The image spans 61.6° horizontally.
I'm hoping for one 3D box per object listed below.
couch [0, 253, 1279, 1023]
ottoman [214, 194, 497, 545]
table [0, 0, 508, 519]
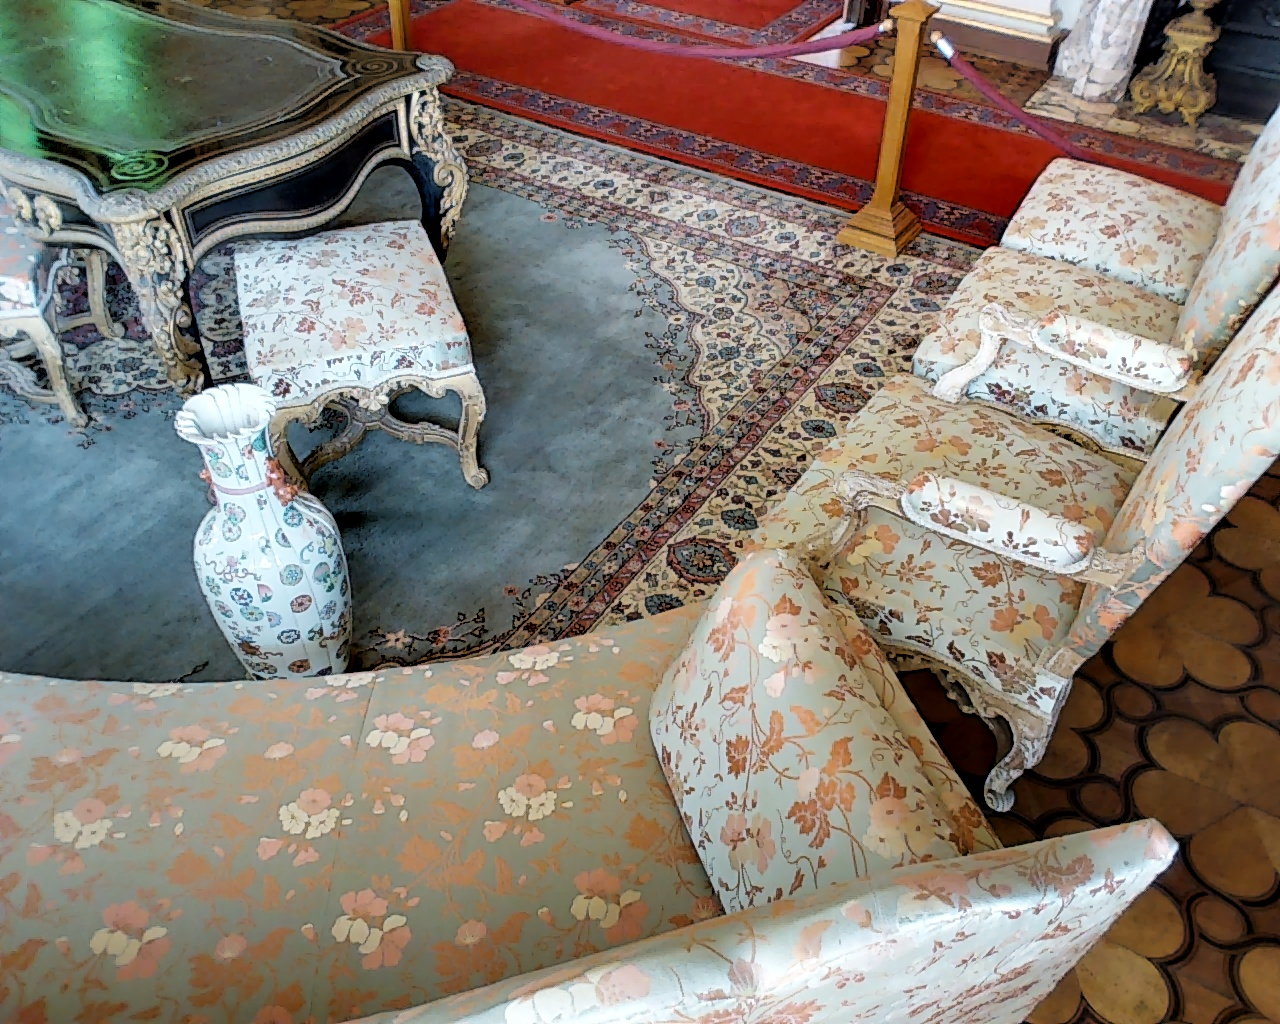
[{"bbox_3d":[-0.710,0.460,1.380,2.439,1.100,1.180,-1,42,-2],"label":"couch"},{"bbox_3d":[-0.720,-0.380,2.730,0.530,0.540,0.640,-13,44,-15],"label":"ottoman"},{"bbox_3d":[-1.530,-0.950,3.080,1.990,0.810,1.080,23,46,23],"label":"table"}]
